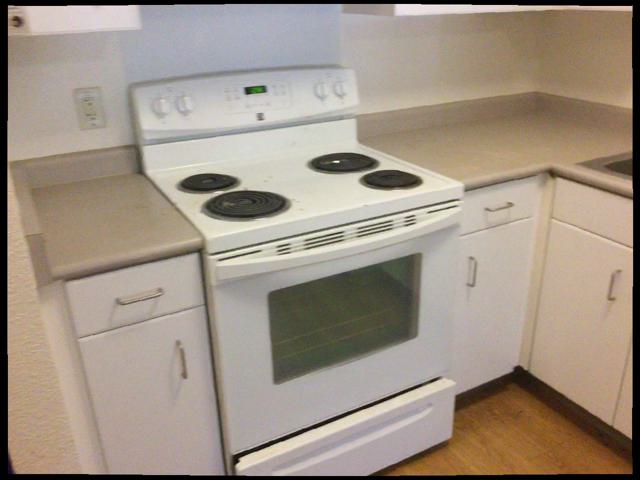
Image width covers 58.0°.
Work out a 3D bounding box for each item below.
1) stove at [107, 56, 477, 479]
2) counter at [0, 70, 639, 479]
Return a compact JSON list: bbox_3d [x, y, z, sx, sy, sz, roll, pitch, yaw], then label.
[{"bbox_3d":[-0.090,0.120,1.870,0.739,1.192,0.800,-18,30,-25],"label":"stove"},{"bbox_3d":[0.449,-0.090,1.480,2.177,0.180,1.780,-16,29,-25],"label":"counter"}]
